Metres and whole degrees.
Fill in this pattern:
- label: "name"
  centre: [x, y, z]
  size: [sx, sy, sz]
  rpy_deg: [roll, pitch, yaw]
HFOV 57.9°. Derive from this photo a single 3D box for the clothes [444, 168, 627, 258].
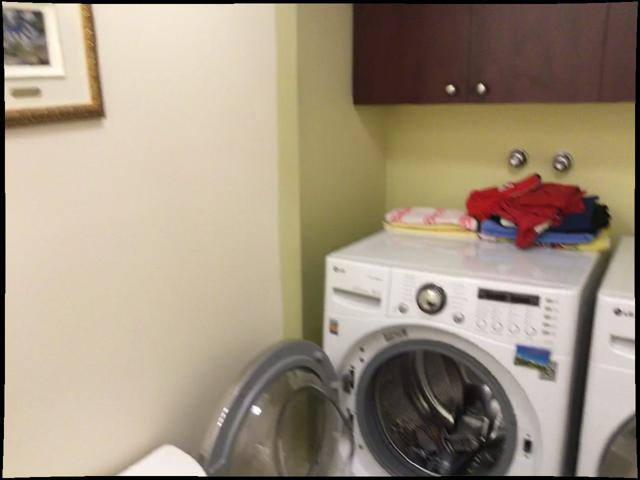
- label: "clothes"
  centre: [0.659, -0.100, 1.780]
  size: [0.470, 0.190, 0.280]
  rpy_deg: [8, 16, 31]
